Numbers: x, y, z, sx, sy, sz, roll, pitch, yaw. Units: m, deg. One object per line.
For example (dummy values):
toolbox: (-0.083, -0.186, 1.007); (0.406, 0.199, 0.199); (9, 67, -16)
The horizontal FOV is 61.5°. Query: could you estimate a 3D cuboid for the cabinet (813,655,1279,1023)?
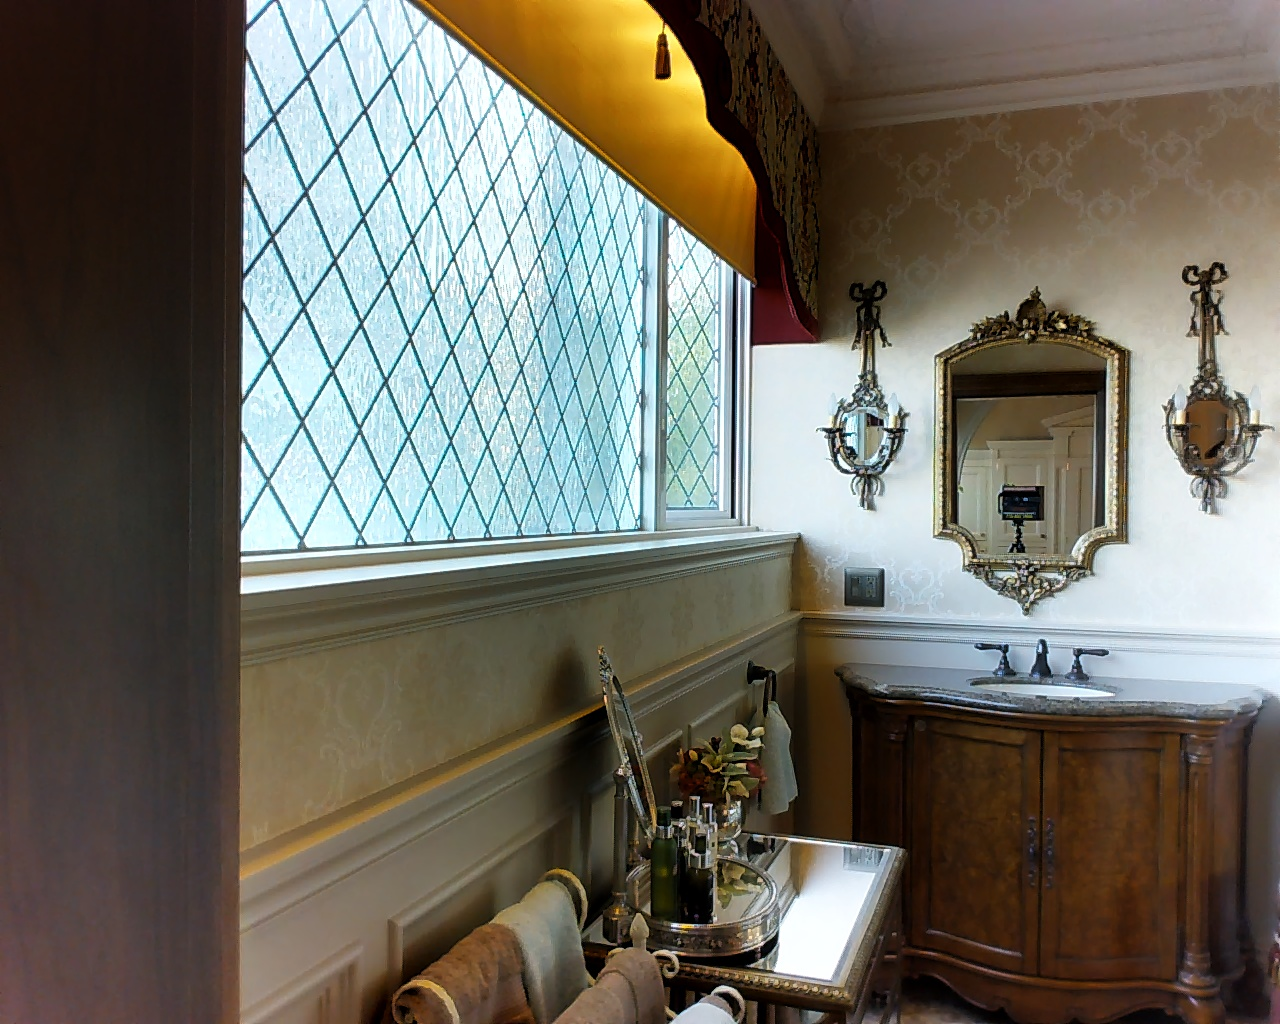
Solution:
cabinet: (1.150, 0.940, 2.980); (1.250, 0.960, 0.460); (1, 0, 20)
